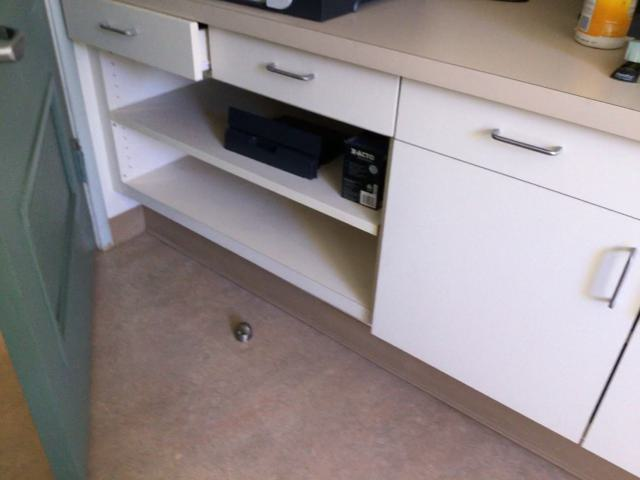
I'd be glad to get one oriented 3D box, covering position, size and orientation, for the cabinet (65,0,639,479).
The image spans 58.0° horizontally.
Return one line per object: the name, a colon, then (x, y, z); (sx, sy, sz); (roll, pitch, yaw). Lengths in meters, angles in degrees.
cabinet: (0.670, 0.090, 1.150); (2.900, 0.910, 0.660); (27, 40, 29)
